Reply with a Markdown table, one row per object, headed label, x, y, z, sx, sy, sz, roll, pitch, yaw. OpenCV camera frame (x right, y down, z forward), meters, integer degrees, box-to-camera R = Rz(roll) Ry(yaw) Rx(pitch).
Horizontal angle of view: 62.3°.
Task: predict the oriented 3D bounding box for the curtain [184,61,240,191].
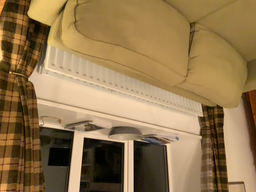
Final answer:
| label | x | y | z | sx | sy | sz | roll | pitch | yaw |
| --- | --- | --- | --- | --- | --- | --- | --- | --- | --- |
| curtain | 0.820 | 0.680 | 1.960 | 0.520 | 2.030 | 0.130 | 17 | 153 | -38 |

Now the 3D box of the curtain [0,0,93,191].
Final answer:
| label | x | y | z | sx | sy | sz | roll | pitch | yaw |
| --- | --- | --- | --- | --- | --- | --- | --- | --- | --- |
| curtain | -0.460 | 0.400 | 0.940 | 0.470 | 1.710 | 0.190 | 17 | 153 | -38 |

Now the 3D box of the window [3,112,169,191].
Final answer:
| label | x | y | z | sx | sy | sz | roll | pitch | yaw |
| --- | --- | --- | --- | --- | --- | --- | --- | --- | --- |
| window | -0.210 | 0.860 | 1.880 | 1.590 | 1.130 | 0.190 | 18 | 153 | -39 |
